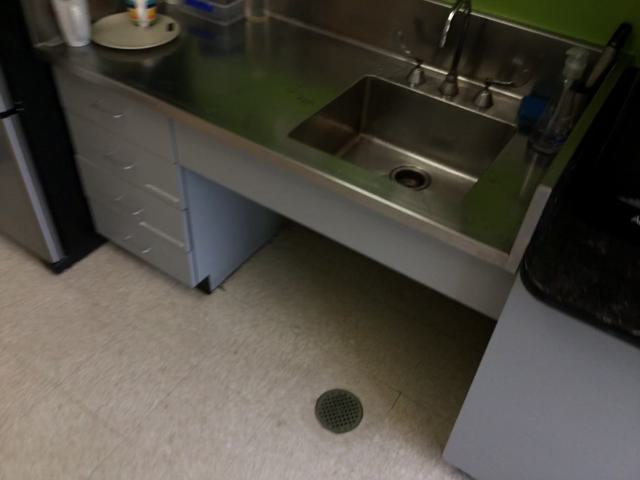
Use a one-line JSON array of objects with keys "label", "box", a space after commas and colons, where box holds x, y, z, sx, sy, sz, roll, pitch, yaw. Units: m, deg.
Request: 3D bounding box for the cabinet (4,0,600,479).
[{"label": "cabinet", "box": [-0.110, -0.120, 1.820, 1.470, 0.840, 0.670, 27, 47, 21]}]

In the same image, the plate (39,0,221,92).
[{"label": "plate", "box": [-0.540, -0.600, 1.700, 0.270, 0.090, 0.430, 27, 47, 21]}]
